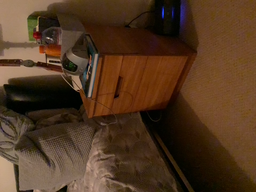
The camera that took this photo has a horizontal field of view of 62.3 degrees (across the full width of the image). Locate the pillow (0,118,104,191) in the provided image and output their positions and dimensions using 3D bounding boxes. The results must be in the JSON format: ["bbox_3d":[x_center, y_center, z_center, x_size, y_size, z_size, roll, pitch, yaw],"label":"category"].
[{"bbox_3d":[-0.490,0.410,1.190,0.500,0.450,0.200,-42,49,17],"label":"pillow"}]

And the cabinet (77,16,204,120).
[{"bbox_3d":[0.030,-0.170,1.240,0.420,0.540,0.380,-119,35,-42],"label":"cabinet"}]
